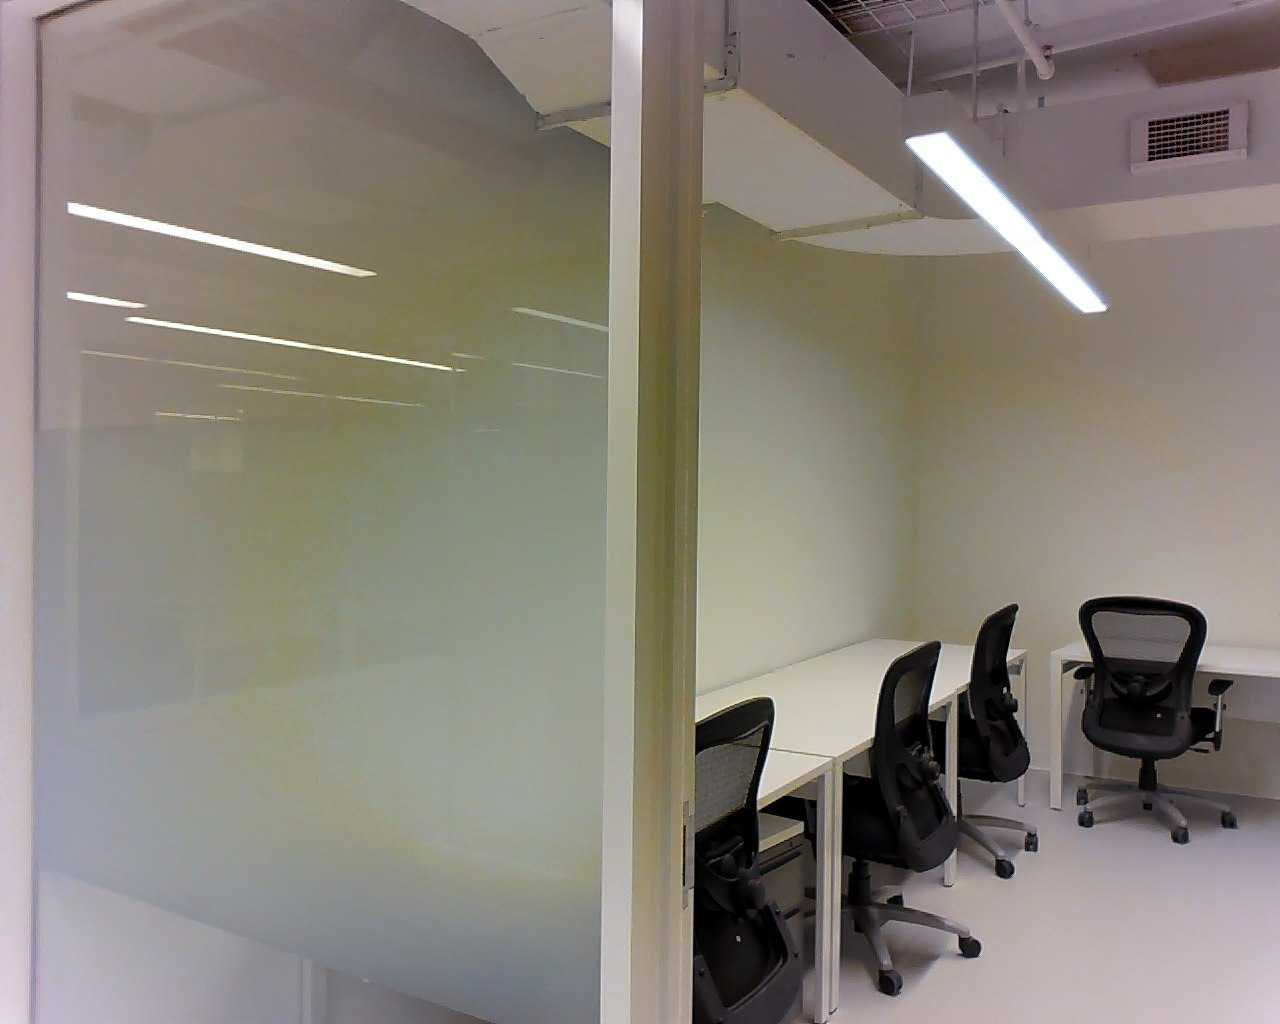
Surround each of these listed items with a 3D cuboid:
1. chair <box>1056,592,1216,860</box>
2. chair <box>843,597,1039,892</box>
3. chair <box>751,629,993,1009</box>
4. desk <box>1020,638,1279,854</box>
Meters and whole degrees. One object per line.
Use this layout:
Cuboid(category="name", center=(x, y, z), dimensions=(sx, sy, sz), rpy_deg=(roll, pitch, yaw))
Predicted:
Cuboid(category="chair", center=(2.269, 0.920, 4.880), dimensions=(0.590, 1.040, 0.670), rpy_deg=(1, 0, 30))
Cuboid(category="chair", center=(1.270, 0.910, 4.480), dimensions=(0.620, 1.030, 0.680), rpy_deg=(1, 0, 31))
Cuboid(category="chair", center=(0.780, 0.940, 3.540), dimensions=(0.610, 1.010, 0.620), rpy_deg=(1, 0, 30))
Cuboid(category="desk", center=(2.639, 1.060, 5.020), dimensions=(1.480, 0.750, 0.820), rpy_deg=(1, 0, 31))
